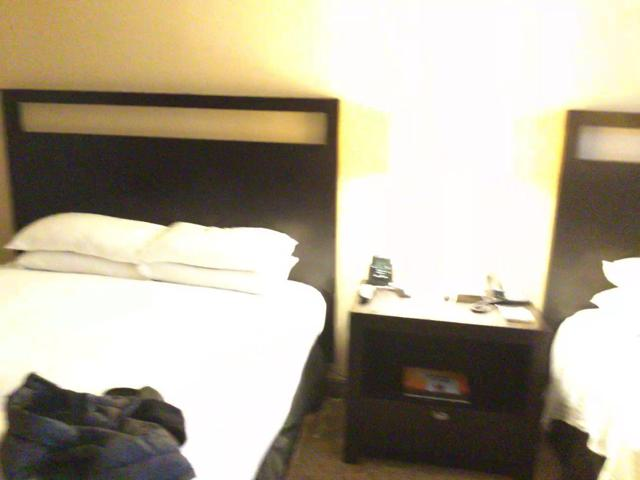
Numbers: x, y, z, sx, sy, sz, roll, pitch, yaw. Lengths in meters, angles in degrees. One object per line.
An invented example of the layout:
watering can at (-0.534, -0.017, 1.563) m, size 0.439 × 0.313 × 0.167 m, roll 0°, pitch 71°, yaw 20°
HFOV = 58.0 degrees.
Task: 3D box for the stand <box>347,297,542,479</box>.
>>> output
stand at (0.510, 0.600, 2.500) m, size 0.740 × 0.610 × 0.470 m, roll 0°, pitch 6°, yaw 9°

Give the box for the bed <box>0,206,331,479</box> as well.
bed at (-0.880, 0.530, 1.900) m, size 1.540 × 1.030 × 2.150 m, roll 2°, pitch 9°, yaw 8°
